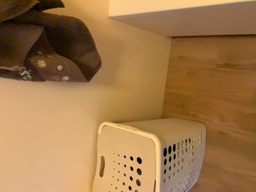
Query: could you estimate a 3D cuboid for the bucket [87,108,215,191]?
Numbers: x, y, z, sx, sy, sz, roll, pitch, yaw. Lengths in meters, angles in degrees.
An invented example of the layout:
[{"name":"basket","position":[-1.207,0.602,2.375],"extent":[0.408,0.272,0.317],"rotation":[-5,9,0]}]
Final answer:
[{"name":"bucket","position":[0.140,0.340,1.090],"extent":[0.350,0.580,0.460],"rotation":[12,99,39]}]
